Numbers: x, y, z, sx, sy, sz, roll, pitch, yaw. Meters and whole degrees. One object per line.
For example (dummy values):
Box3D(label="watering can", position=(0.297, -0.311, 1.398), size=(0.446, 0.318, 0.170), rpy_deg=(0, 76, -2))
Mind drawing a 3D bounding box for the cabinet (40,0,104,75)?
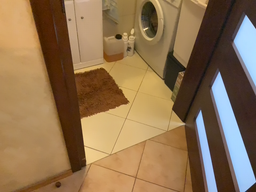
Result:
Box3D(label="cabinet", position=(-0.450, -0.570, 1.810), size=(0.460, 0.750, 0.160), rpy_deg=(-17, 50, -22))
